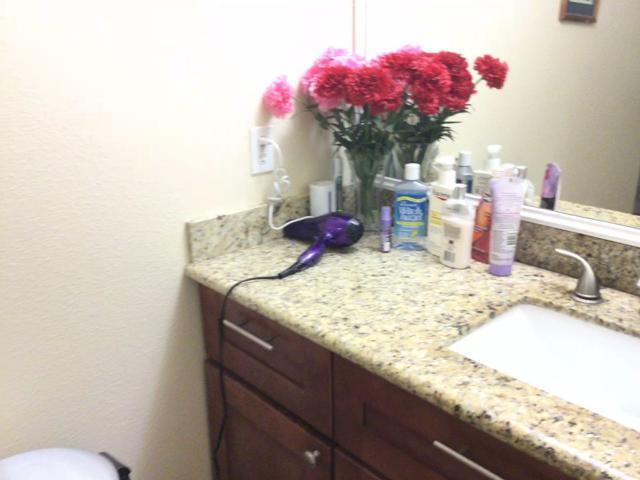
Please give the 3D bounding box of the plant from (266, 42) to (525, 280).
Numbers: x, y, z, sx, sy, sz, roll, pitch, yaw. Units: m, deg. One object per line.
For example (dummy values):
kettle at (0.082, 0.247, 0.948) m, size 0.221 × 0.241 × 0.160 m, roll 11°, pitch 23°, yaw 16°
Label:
plant at (0.180, -0.230, 1.430) m, size 0.500 × 0.470 × 0.370 m, roll -14°, pitch 23°, yaw -40°
